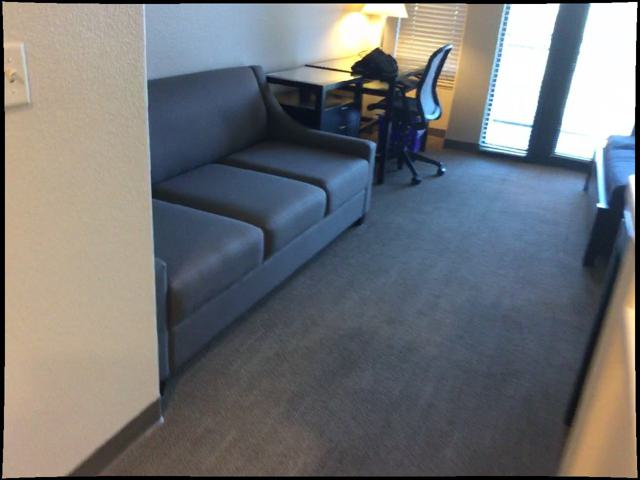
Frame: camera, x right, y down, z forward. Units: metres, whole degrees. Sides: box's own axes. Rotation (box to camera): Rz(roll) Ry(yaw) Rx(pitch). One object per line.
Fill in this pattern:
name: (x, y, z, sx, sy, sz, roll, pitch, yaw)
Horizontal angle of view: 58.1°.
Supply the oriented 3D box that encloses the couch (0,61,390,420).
couch: (-0.499, -0.271, 2.840, 0.978, 0.882, 2.110, 14, 26, 20)
